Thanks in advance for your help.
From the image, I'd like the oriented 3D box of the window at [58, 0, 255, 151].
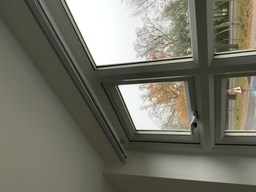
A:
[{"bbox_3d":[0.460,-0.310,0.550,1.700,1.410,0.070,67,-151,-43],"label":"window"}]
